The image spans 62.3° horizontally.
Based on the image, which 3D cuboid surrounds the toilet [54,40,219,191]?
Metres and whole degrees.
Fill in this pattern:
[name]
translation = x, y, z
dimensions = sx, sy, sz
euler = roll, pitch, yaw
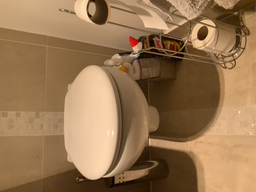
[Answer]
[toilet]
translation = -0.020, 0.090, 0.820
dimensions = 0.520, 0.400, 0.370
euler = -15, 74, 59
